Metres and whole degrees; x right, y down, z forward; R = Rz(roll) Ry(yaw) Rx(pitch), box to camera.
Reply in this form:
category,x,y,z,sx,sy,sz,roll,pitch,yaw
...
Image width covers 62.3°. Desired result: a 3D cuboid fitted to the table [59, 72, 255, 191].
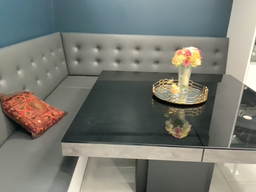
category,x,y,z,sx,sy,sz,roll,pitch,yaw
table,0.340,0.360,1.760,1.340,0.730,1.440,1,21,-1
